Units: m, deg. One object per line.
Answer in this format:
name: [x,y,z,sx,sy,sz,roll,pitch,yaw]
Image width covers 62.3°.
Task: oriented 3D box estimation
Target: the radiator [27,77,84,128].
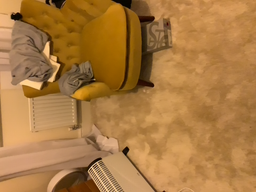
radiator: [-0.650,0.040,1.960,0.120,0.480,0.420,3,95,44]
